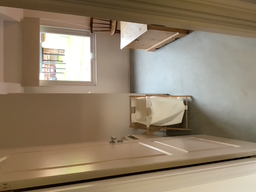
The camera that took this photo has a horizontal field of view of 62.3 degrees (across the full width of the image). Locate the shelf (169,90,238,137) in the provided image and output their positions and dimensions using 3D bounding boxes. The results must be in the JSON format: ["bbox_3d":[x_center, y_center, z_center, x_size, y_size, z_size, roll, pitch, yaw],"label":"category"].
[{"bbox_3d":[0.870,0.170,2.510,0.530,0.560,0.470,-174,84,-67],"label":"shelf"}]
